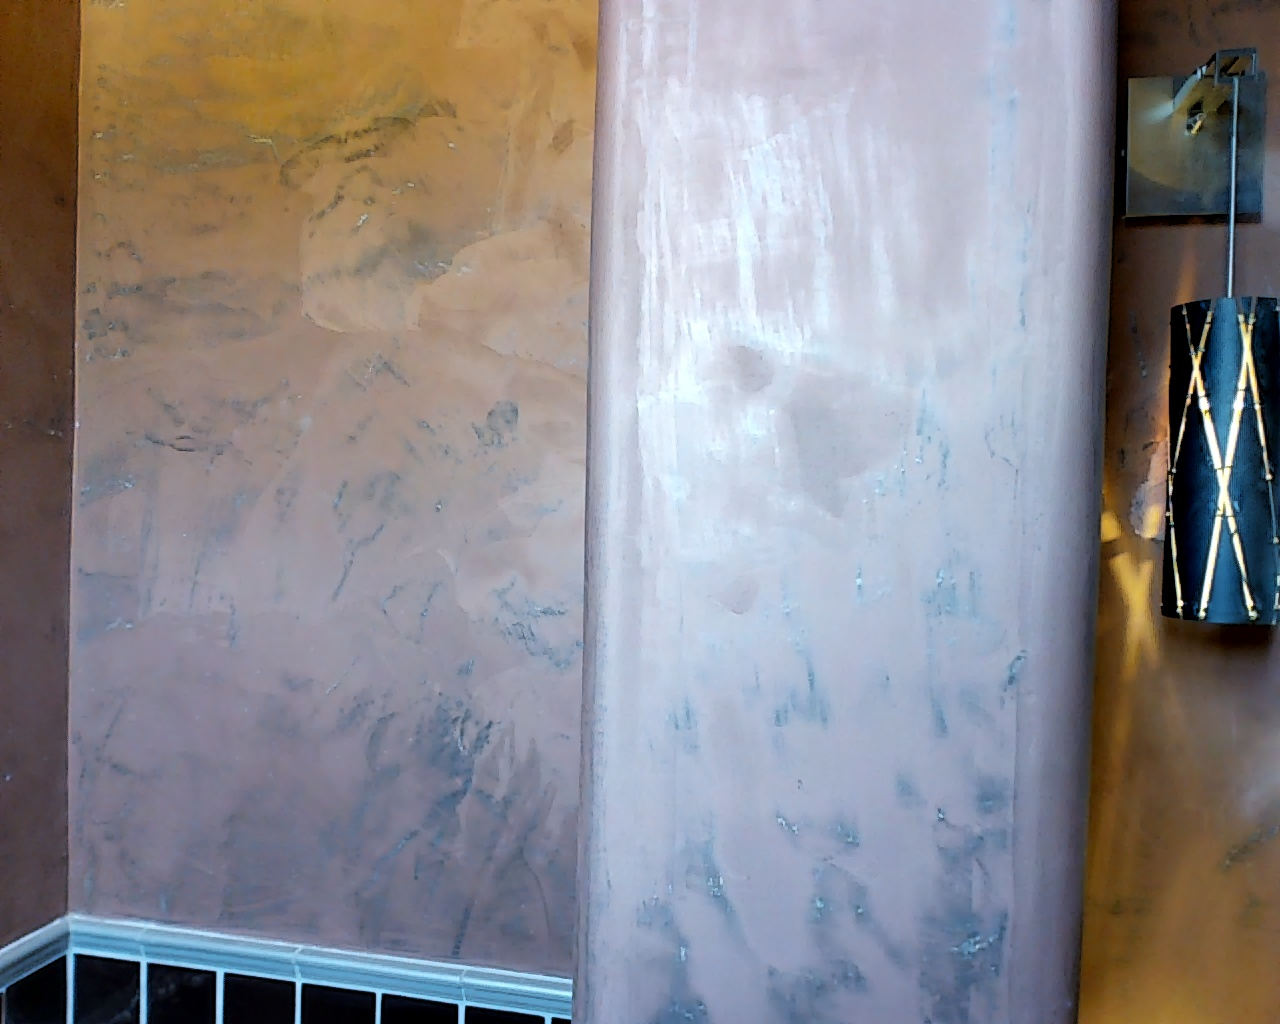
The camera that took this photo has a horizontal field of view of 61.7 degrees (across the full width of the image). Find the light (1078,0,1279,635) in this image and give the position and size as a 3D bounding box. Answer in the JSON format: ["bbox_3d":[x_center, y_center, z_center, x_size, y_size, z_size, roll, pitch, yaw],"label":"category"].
[{"bbox_3d":[0.500,-0.170,0.950,0.160,0.530,0.200,2,1,13],"label":"light"}]
